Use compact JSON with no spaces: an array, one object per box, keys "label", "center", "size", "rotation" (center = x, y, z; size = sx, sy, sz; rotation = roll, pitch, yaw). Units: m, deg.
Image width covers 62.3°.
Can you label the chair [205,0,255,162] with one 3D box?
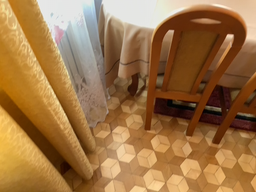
[{"label":"chair","center":[0.720,-0.080,1.120],"size":[0.340,0.960,0.480],"rotation":[10,54,8]}]

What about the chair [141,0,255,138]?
[{"label":"chair","center":[0.290,-0.210,1.220],"size":[0.340,0.960,0.480],"rotation":[6,54,5]}]
